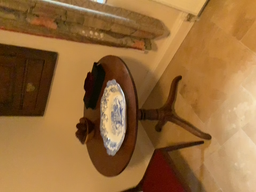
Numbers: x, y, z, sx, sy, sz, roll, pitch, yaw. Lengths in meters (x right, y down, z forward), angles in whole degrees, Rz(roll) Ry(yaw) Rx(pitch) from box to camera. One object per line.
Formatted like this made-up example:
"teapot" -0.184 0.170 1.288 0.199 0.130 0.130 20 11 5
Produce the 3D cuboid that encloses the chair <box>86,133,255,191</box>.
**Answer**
"chair" 0.260 0.640 1.420 0.570 0.850 0.480 -61 41 34

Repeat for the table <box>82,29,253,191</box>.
"table" 0.200 0.110 1.650 0.790 0.740 0.800 -61 41 34
